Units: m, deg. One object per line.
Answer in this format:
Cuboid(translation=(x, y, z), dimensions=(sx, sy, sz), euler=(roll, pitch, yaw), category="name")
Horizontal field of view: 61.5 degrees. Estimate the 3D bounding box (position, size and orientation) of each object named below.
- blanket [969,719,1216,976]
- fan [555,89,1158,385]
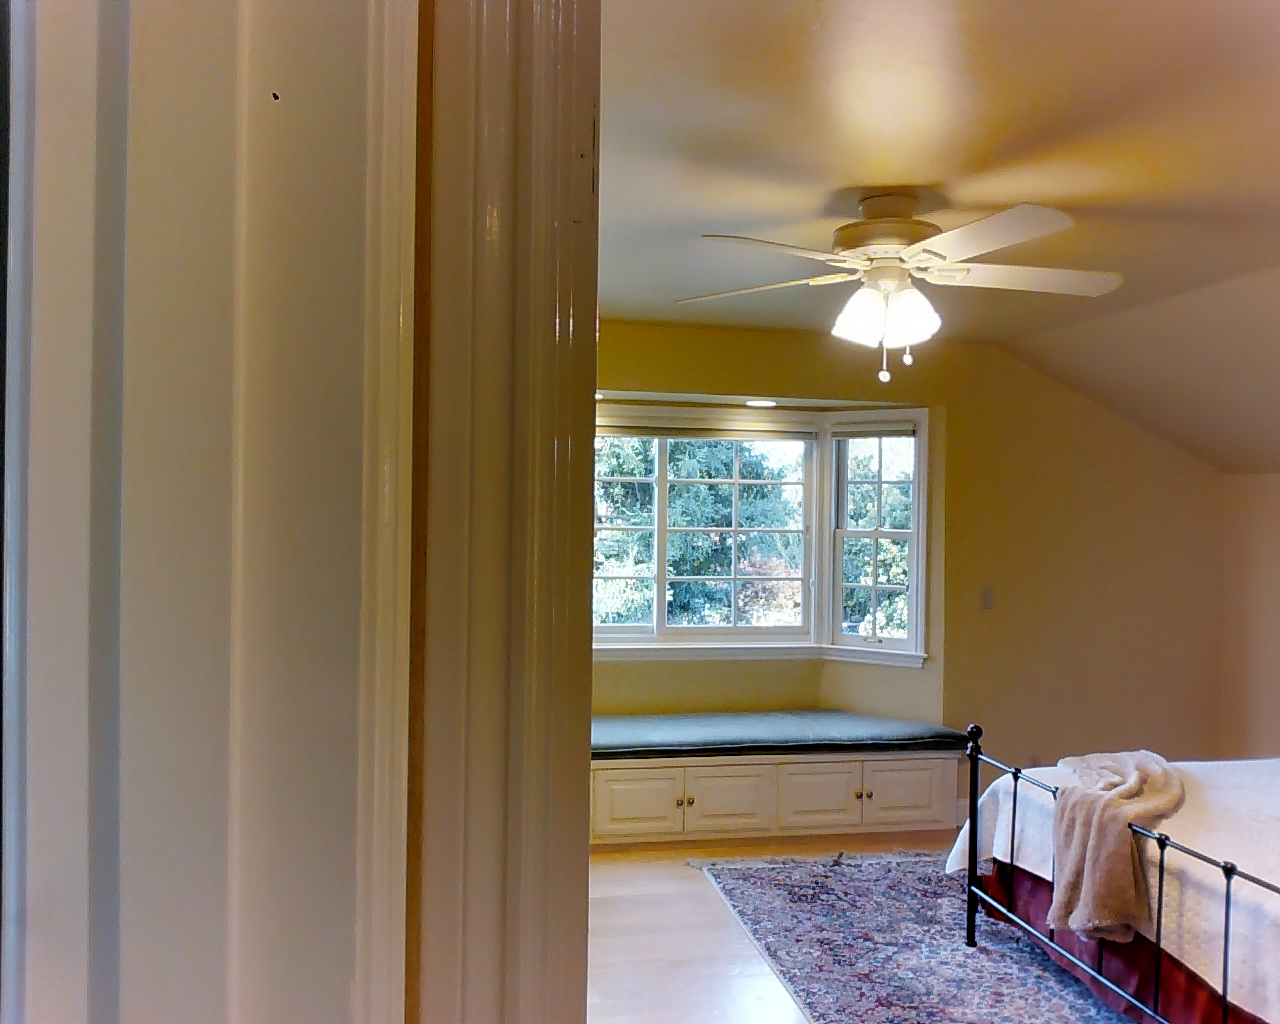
Cuboid(translation=(1.550, 1.030, 3.570), dimensions=(0.500, 0.410, 1.360), euler=(1, 0, 34), category="blanket")
Cuboid(translation=(0.660, -0.650, 3.020), dimensions=(1.260, 0.390, 1.290), euler=(1, 0, 34), category="fan")
